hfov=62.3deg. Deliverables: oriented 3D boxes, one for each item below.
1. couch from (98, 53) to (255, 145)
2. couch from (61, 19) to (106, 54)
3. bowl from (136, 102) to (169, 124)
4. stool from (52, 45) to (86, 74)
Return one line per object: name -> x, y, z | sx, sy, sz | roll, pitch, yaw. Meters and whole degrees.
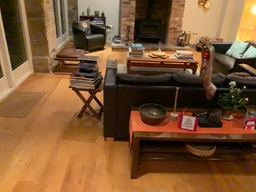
couch -> 0.630, 0.000, 2.570 | 1.890, 0.730, 0.870 | 2, 26, -3
couch -> -1.160, -1.610, 5.630 | 0.810, 0.690, 0.790 | 23, 32, 34
bowl -> 0.210, 0.150, 1.900 | 0.260, 0.070, 0.250 | 2, 26, -3
stool -> -1.140, -0.730, 4.190 | 0.520, 0.400, 0.590 | 2, 26, -3
